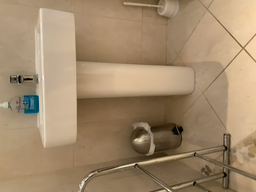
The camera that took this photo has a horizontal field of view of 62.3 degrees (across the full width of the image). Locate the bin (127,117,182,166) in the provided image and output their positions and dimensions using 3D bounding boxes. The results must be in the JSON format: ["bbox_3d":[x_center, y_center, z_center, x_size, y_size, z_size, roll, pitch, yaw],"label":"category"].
[{"bbox_3d":[0.170,0.280,1.380,0.190,0.300,0.230,7,98,63],"label":"bin"}]
